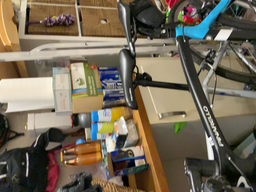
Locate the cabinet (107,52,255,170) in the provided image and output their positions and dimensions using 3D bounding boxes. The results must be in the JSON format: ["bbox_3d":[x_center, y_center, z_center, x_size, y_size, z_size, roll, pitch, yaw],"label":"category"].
[{"bbox_3d":[0.380,0.100,1.380,0.620,0.900,0.430,108,153,-51],"label":"cabinet"}]
